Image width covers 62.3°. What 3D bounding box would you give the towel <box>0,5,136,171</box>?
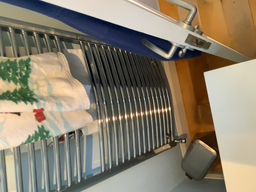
[{"bbox_3d":[-0.300,-0.010,0.580,0.260,0.650,0.340,-11,85,39],"label":"towel"}]
